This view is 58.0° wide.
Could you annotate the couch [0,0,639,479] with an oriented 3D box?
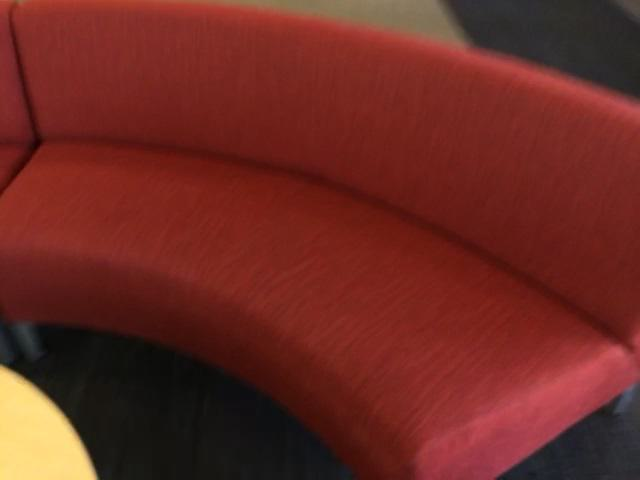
[{"bbox_3d":[-0.630,-0.050,1.410,2.950,0.810,1.270,2,41,6],"label":"couch"}]
